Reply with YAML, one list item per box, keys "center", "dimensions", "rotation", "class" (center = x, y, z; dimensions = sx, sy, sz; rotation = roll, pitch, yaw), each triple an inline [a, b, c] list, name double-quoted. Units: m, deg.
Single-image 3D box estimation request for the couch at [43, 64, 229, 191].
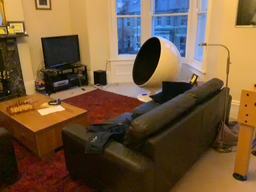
- center: [0.260, 0.250, 2.370]
  dimensions: [0.980, 0.800, 1.920]
  rotation: [15, 25, 38]
  class: "couch"
